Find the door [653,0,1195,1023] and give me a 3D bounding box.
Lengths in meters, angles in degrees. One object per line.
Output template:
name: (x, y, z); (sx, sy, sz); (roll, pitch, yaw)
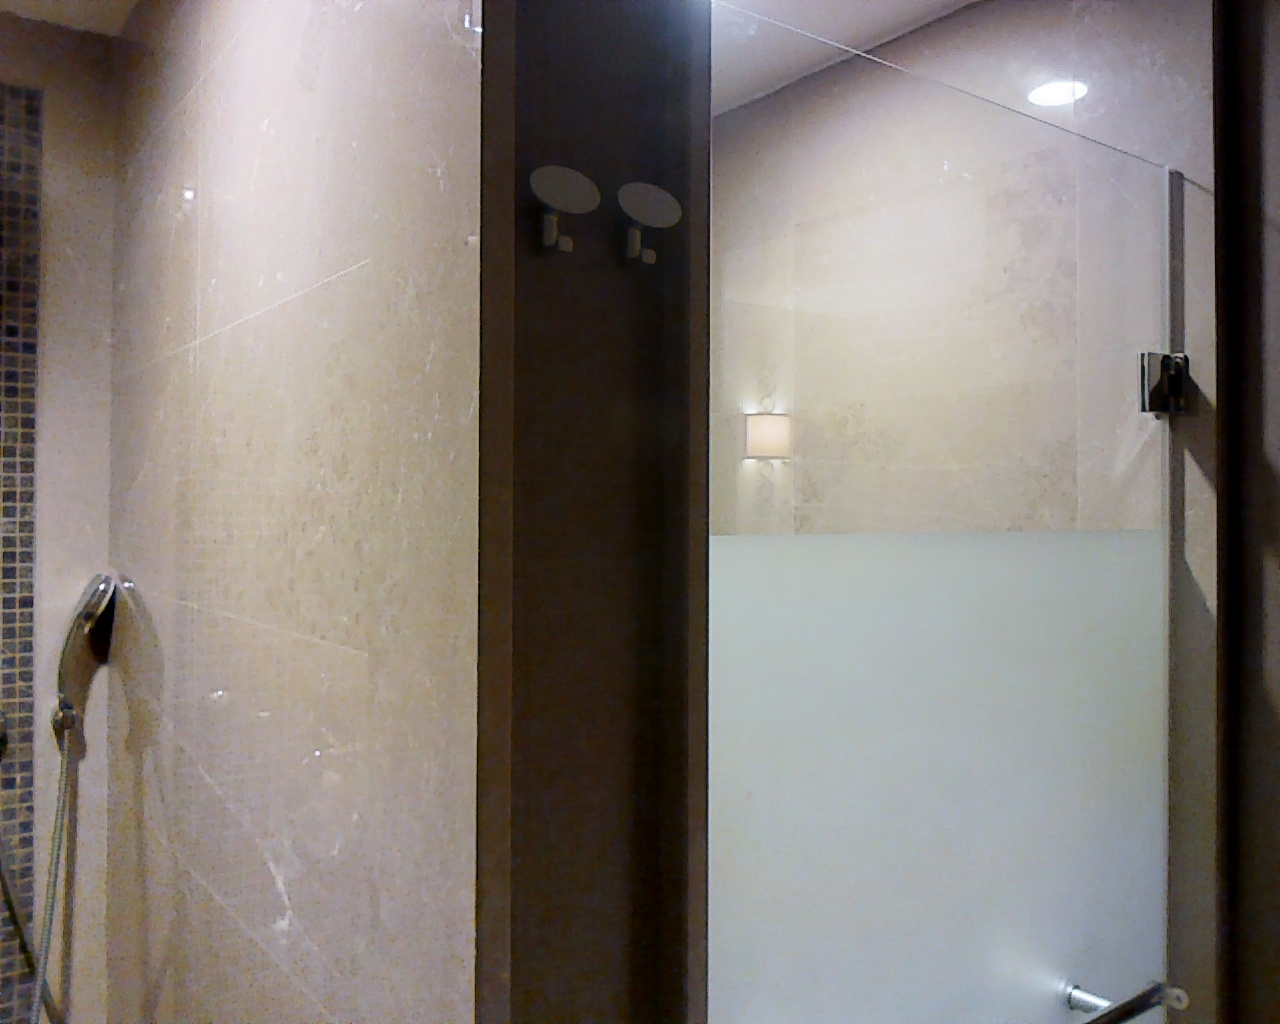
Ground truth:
door: (0.380, 0.450, 1.220); (0.870, 1.900, 0.050); (1, -1, -36)
